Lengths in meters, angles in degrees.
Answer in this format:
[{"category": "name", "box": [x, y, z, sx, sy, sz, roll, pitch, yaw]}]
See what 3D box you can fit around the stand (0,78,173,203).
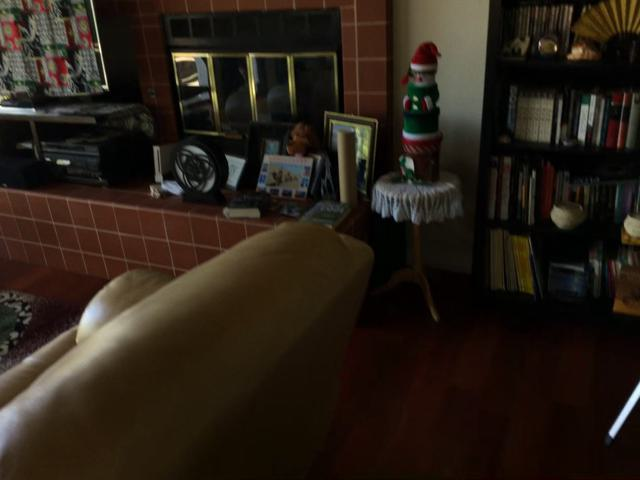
[{"category": "stand", "box": [-1.630, -0.620, 3.330, 1.300, 0.460, 0.710, 8, 27, 22]}]
